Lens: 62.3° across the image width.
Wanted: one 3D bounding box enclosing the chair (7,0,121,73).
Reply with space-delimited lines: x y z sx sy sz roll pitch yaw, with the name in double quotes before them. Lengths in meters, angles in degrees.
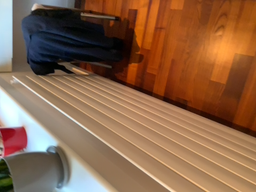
"chair" -0.460 -0.420 1.560 0.430 0.650 0.390 25 112 39
